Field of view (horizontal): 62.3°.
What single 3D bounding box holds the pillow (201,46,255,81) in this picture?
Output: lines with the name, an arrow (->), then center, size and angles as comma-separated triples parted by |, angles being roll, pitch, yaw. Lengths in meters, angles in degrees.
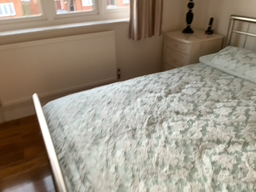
pillow -> 1.010, -0.320, 1.940 | 0.340, 0.100, 0.580 | -15, 31, -22
